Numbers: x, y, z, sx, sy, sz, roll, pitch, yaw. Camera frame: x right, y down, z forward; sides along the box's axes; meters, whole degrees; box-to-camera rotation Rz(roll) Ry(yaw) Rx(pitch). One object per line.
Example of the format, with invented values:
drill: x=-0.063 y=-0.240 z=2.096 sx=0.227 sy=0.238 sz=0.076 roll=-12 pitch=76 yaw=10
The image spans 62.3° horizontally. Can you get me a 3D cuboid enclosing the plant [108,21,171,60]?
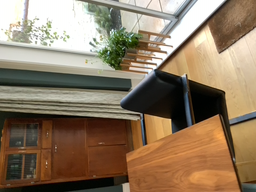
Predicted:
plant: x=0.120 y=-0.580 z=2.270 sx=0.220 sy=0.610 sz=0.230 roll=128 pitch=139 yaw=-52

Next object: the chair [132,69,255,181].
chair: x=0.500 y=0.230 z=1.460 sx=0.570 sy=0.710 sz=0.550 roll=135 pitch=133 yaw=-56
